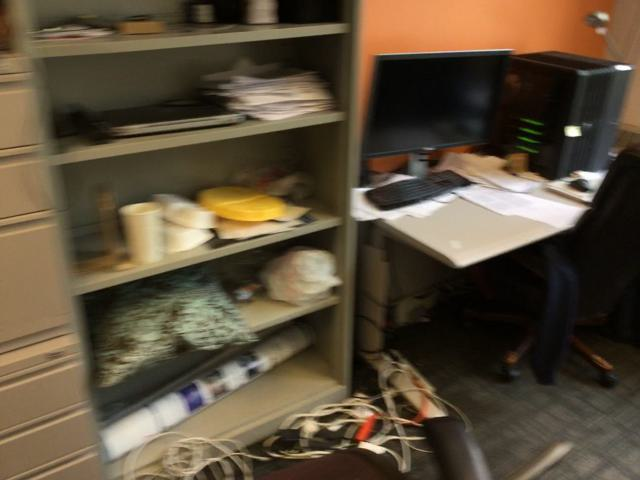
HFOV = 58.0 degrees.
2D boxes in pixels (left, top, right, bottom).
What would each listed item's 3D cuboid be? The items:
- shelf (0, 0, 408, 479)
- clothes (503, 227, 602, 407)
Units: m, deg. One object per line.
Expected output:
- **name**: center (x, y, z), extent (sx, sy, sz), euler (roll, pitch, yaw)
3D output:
- **shelf**: center (-0.350, -0.300, 1.690), extent (1.030, 2.020, 0.540), euler (-13, 27, -30)
- **clothes**: center (0.790, 0.270, 2.000), extent (0.110, 0.590, 0.190), euler (-13, 27, -30)
